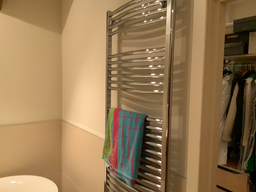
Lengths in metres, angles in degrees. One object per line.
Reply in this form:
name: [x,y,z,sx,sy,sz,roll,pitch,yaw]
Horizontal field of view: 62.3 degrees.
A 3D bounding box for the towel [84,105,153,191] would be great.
towel: [-0.080,0.310,1.300,0.140,0.450,0.490,-4,7,-41]
